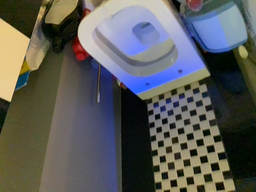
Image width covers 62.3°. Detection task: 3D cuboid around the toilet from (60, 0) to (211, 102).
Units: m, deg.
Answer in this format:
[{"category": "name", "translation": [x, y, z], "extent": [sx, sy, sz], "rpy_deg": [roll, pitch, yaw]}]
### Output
[{"category": "toilet", "translation": [0.060, -0.260, 0.910], "extent": [0.360, 0.280, 0.530], "rpy_deg": [-22, 142, 28]}]
